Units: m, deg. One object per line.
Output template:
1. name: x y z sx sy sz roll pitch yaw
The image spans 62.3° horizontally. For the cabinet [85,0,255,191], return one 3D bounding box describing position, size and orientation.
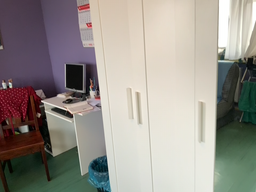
1. cabinet: 0.370 0.040 1.340 0.550 1.900 1.220 -18 21 -40
